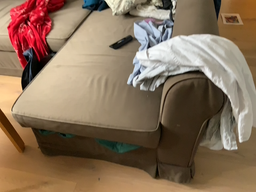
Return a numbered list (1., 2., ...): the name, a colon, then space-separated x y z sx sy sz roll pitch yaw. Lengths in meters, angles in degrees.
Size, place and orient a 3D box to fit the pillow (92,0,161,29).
1. pillow: 0.020 -0.740 1.670 0.450 0.210 0.460 6 44 10
